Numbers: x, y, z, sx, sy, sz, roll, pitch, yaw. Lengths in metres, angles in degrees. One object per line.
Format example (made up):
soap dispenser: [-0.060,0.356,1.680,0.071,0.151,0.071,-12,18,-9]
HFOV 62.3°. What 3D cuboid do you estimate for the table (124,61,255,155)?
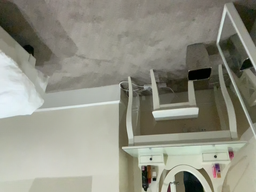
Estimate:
table: [0.530,0.150,2.100,1.040,0.710,0.480,-6,155,9]
